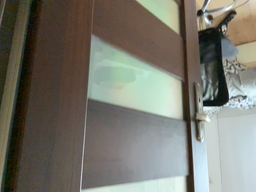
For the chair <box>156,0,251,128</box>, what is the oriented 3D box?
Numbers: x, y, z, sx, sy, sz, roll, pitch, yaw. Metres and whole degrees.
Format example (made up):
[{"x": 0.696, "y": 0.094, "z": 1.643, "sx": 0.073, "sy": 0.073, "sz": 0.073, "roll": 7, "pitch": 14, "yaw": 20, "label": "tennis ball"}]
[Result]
[{"x": 0.630, "y": -0.250, "z": 1.800, "sx": 0.540, "sy": 0.960, "sz": 0.610, "roll": -10, "pitch": 162, "yaw": 37, "label": "chair"}]
